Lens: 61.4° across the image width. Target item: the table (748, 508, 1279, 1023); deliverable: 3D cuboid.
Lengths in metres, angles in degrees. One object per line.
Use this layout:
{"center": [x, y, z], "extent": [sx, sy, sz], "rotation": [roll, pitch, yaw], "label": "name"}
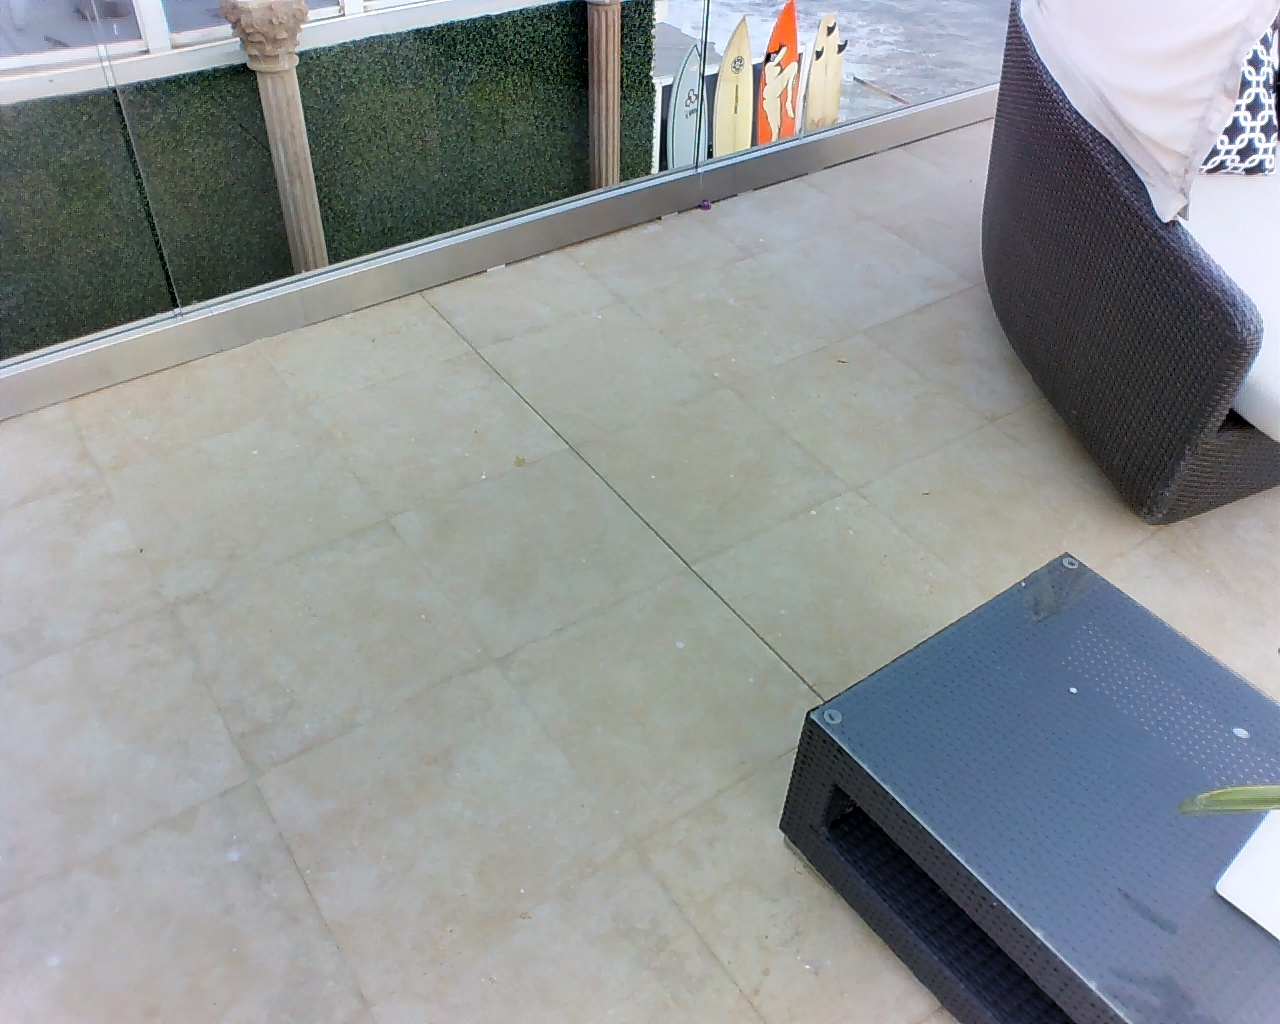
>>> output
{"center": [0.860, 0.630, 1.430], "extent": [0.690, 0.340, 1.360], "rotation": [-24, 49, -27], "label": "table"}
